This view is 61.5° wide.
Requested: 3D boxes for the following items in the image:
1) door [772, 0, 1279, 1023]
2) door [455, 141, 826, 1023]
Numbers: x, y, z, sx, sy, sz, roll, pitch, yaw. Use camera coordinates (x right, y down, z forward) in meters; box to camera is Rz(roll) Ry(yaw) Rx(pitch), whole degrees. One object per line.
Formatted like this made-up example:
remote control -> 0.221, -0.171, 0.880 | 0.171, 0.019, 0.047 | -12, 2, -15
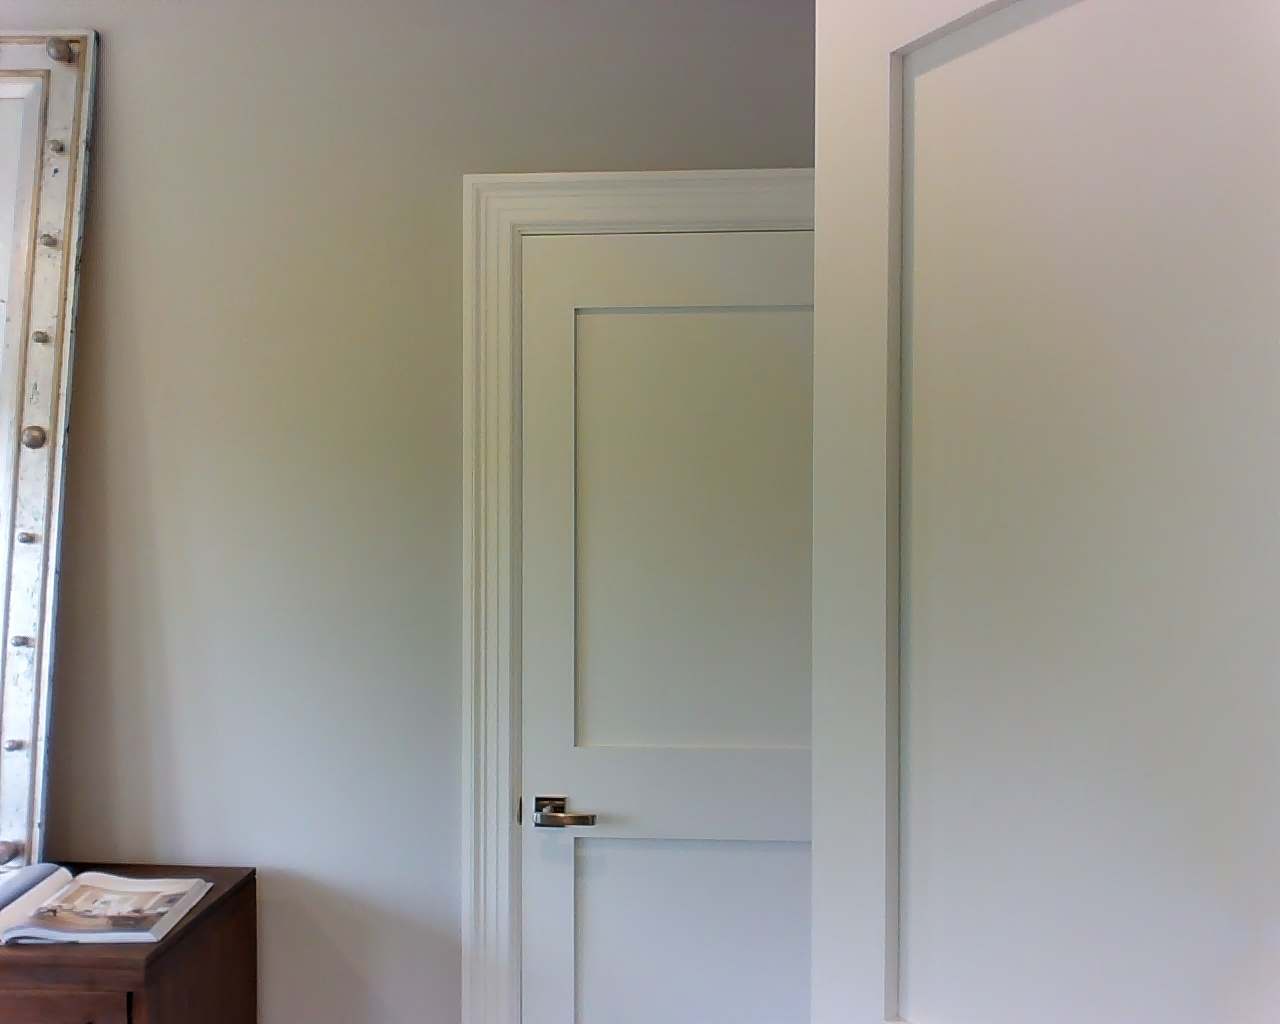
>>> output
door -> 0.330, 0.430, 0.900 | 0.040, 2.260, 0.670 | 1, -1, -30
door -> 0.000, 0.390, 2.260 | 0.760, 2.310, 0.070 | 0, -1, 3
